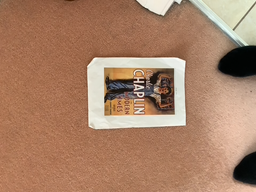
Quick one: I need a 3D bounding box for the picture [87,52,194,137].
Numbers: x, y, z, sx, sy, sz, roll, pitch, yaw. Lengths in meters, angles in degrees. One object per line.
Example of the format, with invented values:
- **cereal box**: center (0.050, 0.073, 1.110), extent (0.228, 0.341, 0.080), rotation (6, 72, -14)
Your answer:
- **picture**: center (0.040, -0.010, 0.630), extent (0.310, 0.020, 0.240), rotation (-2, 89, -8)
